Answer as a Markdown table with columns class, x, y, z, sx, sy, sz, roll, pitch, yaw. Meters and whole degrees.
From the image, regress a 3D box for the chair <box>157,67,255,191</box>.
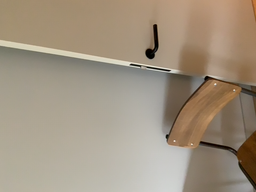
| class | x | y | z | sx | sy | sz | roll | pitch | yaw |
| --- | --- | --- | --- | --- | --- | --- | --- | --- | --- |
| chair | 0.690 | 0.260 | 1.010 | 0.460 | 0.830 | 0.550 | -66 | 33 | 31 |
